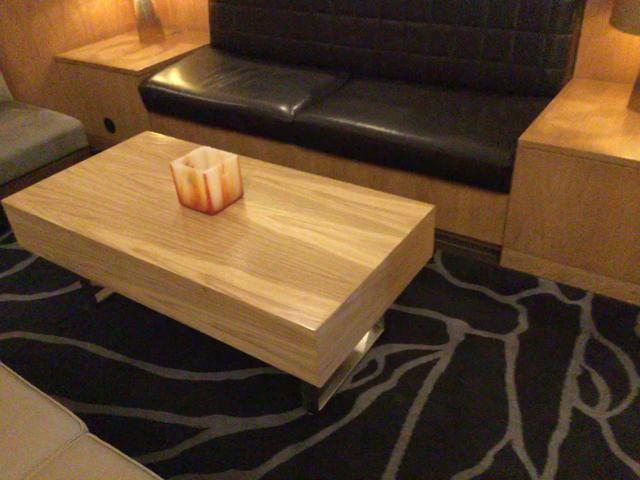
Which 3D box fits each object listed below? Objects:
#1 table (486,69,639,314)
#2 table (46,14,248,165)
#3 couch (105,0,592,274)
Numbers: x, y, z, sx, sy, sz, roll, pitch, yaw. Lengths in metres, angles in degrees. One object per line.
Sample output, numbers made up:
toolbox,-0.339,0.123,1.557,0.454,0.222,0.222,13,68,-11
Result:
table,1.050,-0.190,2.010,0.680,0.550,0.640,18,39,29
table,-0.910,-0.860,3.170,0.710,0.540,0.670,18,39,29
couch,0.040,-0.690,2.520,1.880,0.950,0.690,18,39,29
